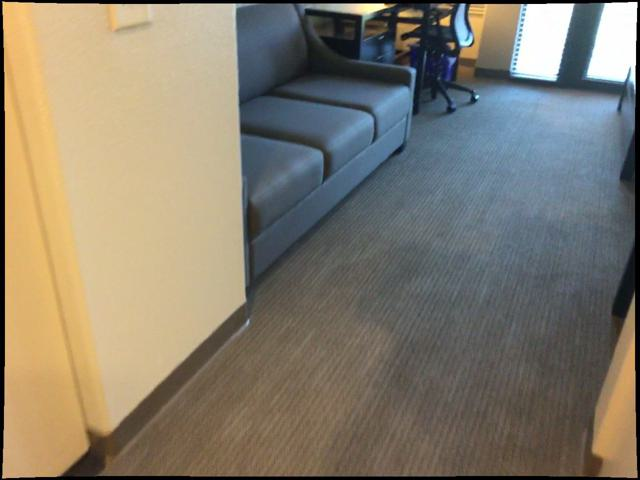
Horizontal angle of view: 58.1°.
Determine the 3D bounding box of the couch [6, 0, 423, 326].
[{"bbox_3d":[-0.259,-0.632,2.950,0.958,0.872,2.130,13,31,20],"label":"couch"}]
